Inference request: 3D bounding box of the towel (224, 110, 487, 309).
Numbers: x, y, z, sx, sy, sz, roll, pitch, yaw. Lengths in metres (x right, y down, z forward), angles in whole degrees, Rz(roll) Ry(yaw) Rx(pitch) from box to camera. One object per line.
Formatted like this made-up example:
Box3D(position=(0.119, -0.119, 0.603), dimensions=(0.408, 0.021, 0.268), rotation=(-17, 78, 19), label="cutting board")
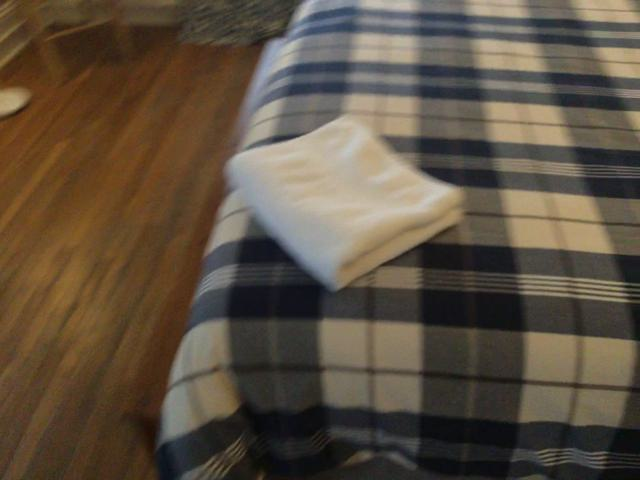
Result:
Box3D(position=(0.050, -0.080, 1.040), dimensions=(0.310, 0.080, 0.360), rotation=(-23, 46, -23), label="towel")
